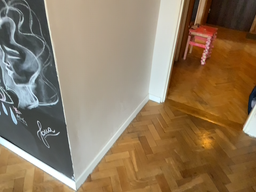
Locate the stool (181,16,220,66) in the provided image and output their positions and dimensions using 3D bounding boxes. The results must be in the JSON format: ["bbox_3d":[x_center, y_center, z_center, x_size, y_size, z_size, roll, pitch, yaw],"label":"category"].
[{"bbox_3d":[1.120,-0.860,3.250,0.330,0.490,0.700,19,39,19],"label":"stool"}]
